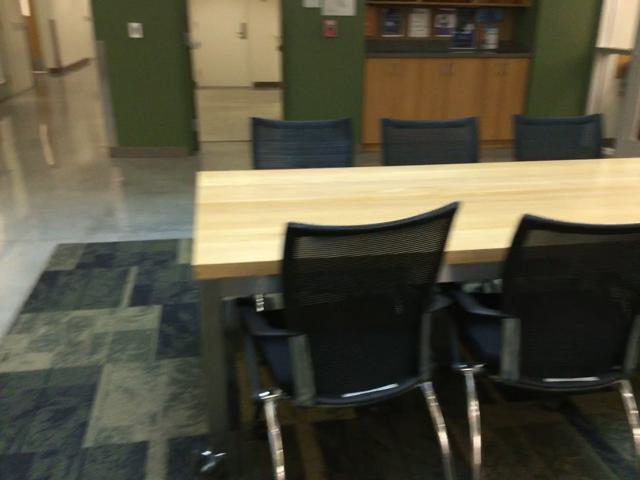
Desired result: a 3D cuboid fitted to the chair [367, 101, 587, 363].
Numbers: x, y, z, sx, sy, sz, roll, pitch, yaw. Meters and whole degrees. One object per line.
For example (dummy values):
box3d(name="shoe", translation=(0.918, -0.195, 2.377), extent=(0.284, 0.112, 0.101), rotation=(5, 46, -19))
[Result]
box3d(name="chair", translation=(0.580, -0.070, 2.460), extent=(0.660, 0.910, 0.670), rotation=(-2, 22, -3))

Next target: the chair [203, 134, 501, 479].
box3d(name="chair", translation=(0.040, 0.240, 1.720), extent=(0.560, 0.940, 0.700), rotation=(-9, 23, -19))

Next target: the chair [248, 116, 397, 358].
box3d(name="chair", translation=(0.000, -0.040, 2.440), extent=(0.520, 0.840, 0.600), rotation=(-2, 22, -3))

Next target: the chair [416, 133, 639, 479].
box3d(name="chair", translation=(0.660, 0.220, 1.770), extent=(0.560, 0.950, 0.650), rotation=(-2, 22, -3))
